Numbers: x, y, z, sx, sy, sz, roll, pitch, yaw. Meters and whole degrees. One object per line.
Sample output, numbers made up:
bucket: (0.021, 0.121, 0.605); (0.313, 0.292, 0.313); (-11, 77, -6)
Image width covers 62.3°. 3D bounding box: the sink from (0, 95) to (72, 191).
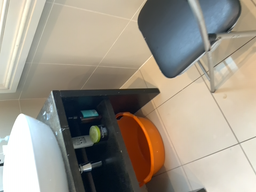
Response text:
sink: (-0.460, 0.400, 0.980); (0.510, 0.180, 0.640); (-42, 61, 44)
